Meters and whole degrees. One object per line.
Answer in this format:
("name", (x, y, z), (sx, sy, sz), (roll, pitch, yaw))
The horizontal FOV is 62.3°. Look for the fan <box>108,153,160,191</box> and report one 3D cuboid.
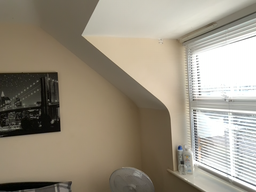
("fan", (0.060, 1.100, 2.050), (0.440, 0.950, 0.420), (-3, 1, -2))
